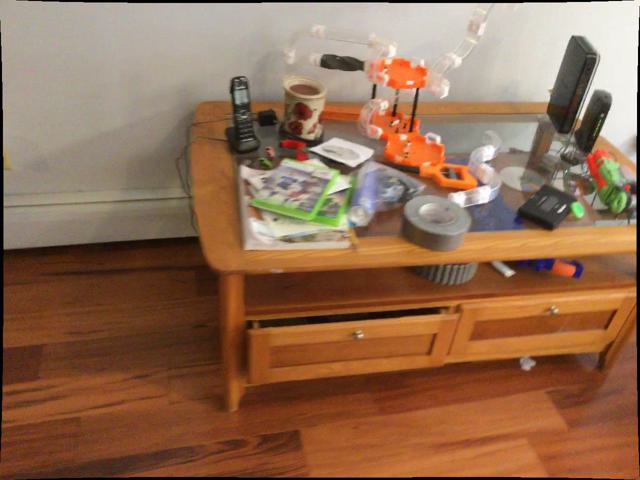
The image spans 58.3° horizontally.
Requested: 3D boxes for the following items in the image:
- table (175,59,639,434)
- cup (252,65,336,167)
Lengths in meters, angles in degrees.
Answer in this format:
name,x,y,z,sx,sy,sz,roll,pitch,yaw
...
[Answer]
name,x,y,z,sx,sy,sz,roll,pitch,yaw
table,0.270,-0.070,1.680,1.279,0.590,0.850,-4,40,-13
cup,-0.080,-0.340,1.560,0.180,0.180,0.230,-4,40,-13
